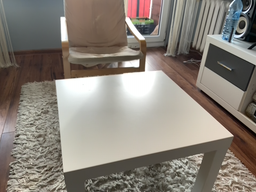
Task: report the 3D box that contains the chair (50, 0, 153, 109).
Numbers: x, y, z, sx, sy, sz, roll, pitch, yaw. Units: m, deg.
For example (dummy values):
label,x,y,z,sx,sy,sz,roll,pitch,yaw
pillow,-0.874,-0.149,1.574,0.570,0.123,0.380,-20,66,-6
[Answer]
label,x,y,z,sx,sy,sz,roll,pitch,yaw
chair,-0.250,-0.540,1.700,0.610,0.980,0.760,-5,32,-14
